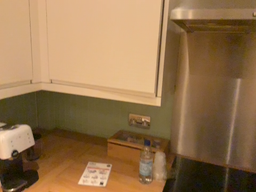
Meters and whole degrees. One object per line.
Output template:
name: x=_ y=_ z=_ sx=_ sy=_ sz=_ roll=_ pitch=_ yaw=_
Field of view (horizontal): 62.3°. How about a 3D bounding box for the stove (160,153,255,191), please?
stove: x=0.480 y=0.440 z=1.010 sx=0.590 sy=0.010 sz=0.470 roll=7 pitch=14 yaw=20
